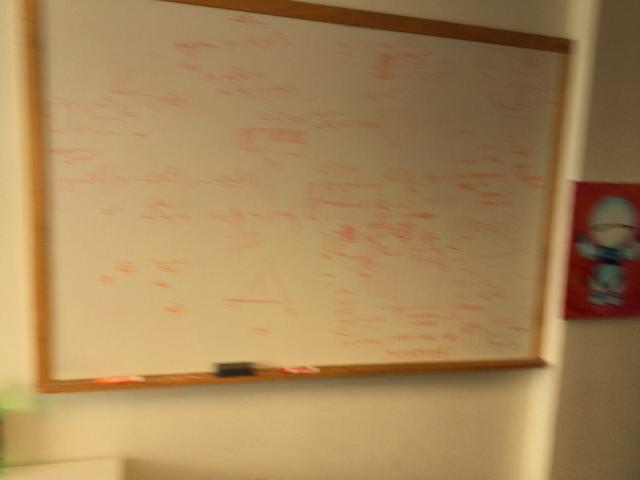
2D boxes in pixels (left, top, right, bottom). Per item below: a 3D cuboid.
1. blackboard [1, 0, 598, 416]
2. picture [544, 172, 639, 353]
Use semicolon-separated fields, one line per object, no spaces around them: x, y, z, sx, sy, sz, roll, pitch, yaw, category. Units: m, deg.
0.010;-0.160;1.830;1.790;1.320;0.130;0;7;-14;blackboard
1.030;0.080;2.070;0.410;0.630;0.070;0;7;-14;picture
